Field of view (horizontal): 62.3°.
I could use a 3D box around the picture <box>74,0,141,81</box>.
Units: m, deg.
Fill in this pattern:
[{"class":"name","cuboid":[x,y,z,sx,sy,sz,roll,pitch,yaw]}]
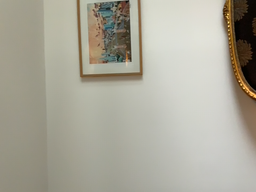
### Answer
[{"class":"picture","cuboid":[-0.170,-0.530,1.770,0.040,0.540,0.790,-39,-53,-83]}]
